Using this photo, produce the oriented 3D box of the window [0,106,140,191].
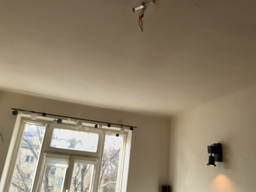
[{"bbox_3d":[-0.940,1.230,3.630,2.180,1.750,0.260,10,-18,-12],"label":"window"}]
